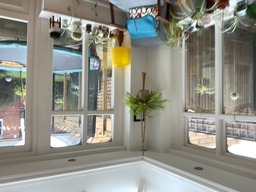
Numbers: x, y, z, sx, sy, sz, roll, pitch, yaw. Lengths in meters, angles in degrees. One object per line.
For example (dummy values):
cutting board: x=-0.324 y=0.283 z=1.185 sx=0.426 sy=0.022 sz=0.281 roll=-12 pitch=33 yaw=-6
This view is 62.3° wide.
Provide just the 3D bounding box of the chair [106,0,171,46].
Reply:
chair: x=0.180 y=-1.120 z=2.660 sx=0.560 sy=0.730 sz=0.870 roll=0 pitch=179 yaw=21

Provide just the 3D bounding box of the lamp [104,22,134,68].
lamp: x=-0.130 y=-0.730 z=3.120 sx=0.370 sy=0.580 sz=0.280 roll=0 pitch=179 yaw=14
